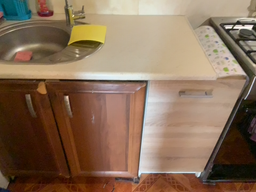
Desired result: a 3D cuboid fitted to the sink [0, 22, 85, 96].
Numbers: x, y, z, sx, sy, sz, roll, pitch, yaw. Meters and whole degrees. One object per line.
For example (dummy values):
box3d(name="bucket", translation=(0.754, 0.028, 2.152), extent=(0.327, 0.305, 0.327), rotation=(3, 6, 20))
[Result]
box3d(name="sink", translation=(-0.450, -0.200, 1.060), extent=(0.400, 0.190, 0.400), rotation=(0, 40, -2))
